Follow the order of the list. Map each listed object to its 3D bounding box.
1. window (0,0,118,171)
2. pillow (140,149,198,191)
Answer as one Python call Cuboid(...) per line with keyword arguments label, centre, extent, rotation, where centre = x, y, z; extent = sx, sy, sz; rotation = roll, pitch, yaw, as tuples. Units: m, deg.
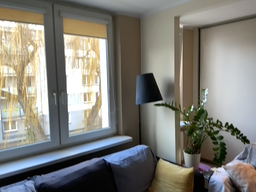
Cuboid(label="window", centre=(-0.850, -0.170, 2.380), extent=(1.660, 1.680, 0.160), rotation=(-6, 7, -39))
Cuboid(label="pillow", centre=(0.420, 0.900, 2.300), extent=(0.150, 0.370, 0.560), rotation=(16, 13, -38))
